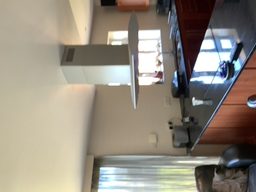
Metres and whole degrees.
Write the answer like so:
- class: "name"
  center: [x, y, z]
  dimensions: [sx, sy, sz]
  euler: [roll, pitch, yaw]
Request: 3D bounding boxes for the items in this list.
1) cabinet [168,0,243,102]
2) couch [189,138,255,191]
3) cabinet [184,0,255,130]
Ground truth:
- class: "cabinet"
  center: [1.340, -0.990, 4.070]
  dimensions: [0.610, 0.870, 2.200]
  euler: [86, -176, -58]
- class: "couch"
  center: [1.300, 1.110, 2.410]
  dimensions: [0.930, 0.870, 0.950]
  euler: [87, -177, -57]
- class: "cabinet"
  center: [1.260, -0.510, 2.030]
  dimensions: [2.320, 0.900, 0.800]
  euler: [86, -176, -58]
